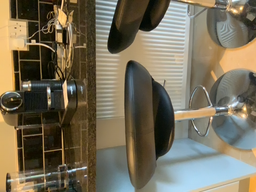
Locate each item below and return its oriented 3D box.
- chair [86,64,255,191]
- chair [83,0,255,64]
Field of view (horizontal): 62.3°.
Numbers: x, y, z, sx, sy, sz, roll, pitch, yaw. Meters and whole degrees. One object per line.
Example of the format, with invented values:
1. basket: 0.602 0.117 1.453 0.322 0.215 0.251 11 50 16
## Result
1. chair: 0.260 0.110 1.060 0.540 0.810 0.490 -158 69 -63
2. chair: 0.250 -0.430 1.030 0.560 0.810 0.510 -158 69 -63
